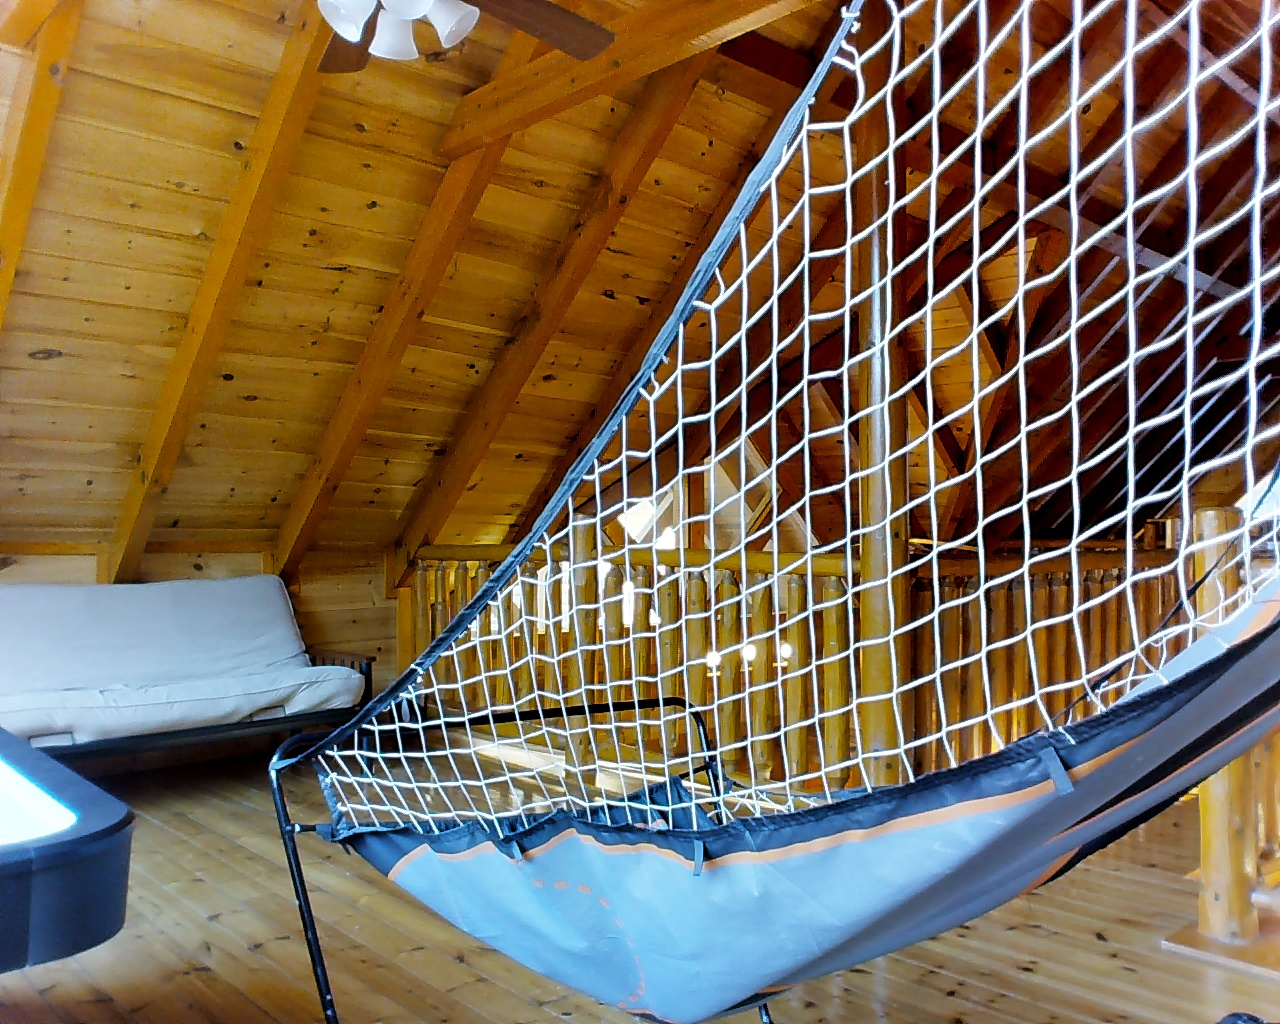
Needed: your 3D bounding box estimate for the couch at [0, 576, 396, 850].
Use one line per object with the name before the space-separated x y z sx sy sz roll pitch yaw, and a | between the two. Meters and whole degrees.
couch | -2.199 0.770 4.660 1.960 0.930 1.040 2 -2 -42
